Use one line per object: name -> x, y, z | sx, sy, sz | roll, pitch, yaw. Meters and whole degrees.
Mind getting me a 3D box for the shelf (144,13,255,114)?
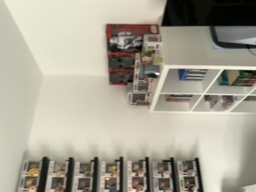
shelf -> 0.910, -0.200, 1.770 | 0.780, 1.450, 0.440 | 96, 174, -63
